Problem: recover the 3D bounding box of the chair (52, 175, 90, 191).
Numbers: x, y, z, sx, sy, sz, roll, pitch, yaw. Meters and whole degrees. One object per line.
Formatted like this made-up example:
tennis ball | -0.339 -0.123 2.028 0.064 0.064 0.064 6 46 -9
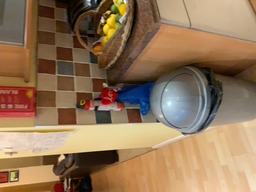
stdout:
chair | -1.370 2.180 5.060 0.570 0.780 0.410 134 132 -55
